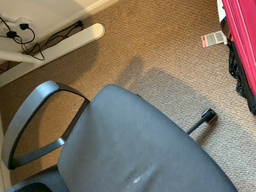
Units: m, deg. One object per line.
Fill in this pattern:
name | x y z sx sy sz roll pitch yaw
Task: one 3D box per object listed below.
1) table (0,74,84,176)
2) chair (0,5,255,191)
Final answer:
table | -0.820 0.090 1.180 0.830 0.730 0.250 22 99 24
chair | -0.110 0.320 0.540 0.640 1.250 0.720 41 107 20
